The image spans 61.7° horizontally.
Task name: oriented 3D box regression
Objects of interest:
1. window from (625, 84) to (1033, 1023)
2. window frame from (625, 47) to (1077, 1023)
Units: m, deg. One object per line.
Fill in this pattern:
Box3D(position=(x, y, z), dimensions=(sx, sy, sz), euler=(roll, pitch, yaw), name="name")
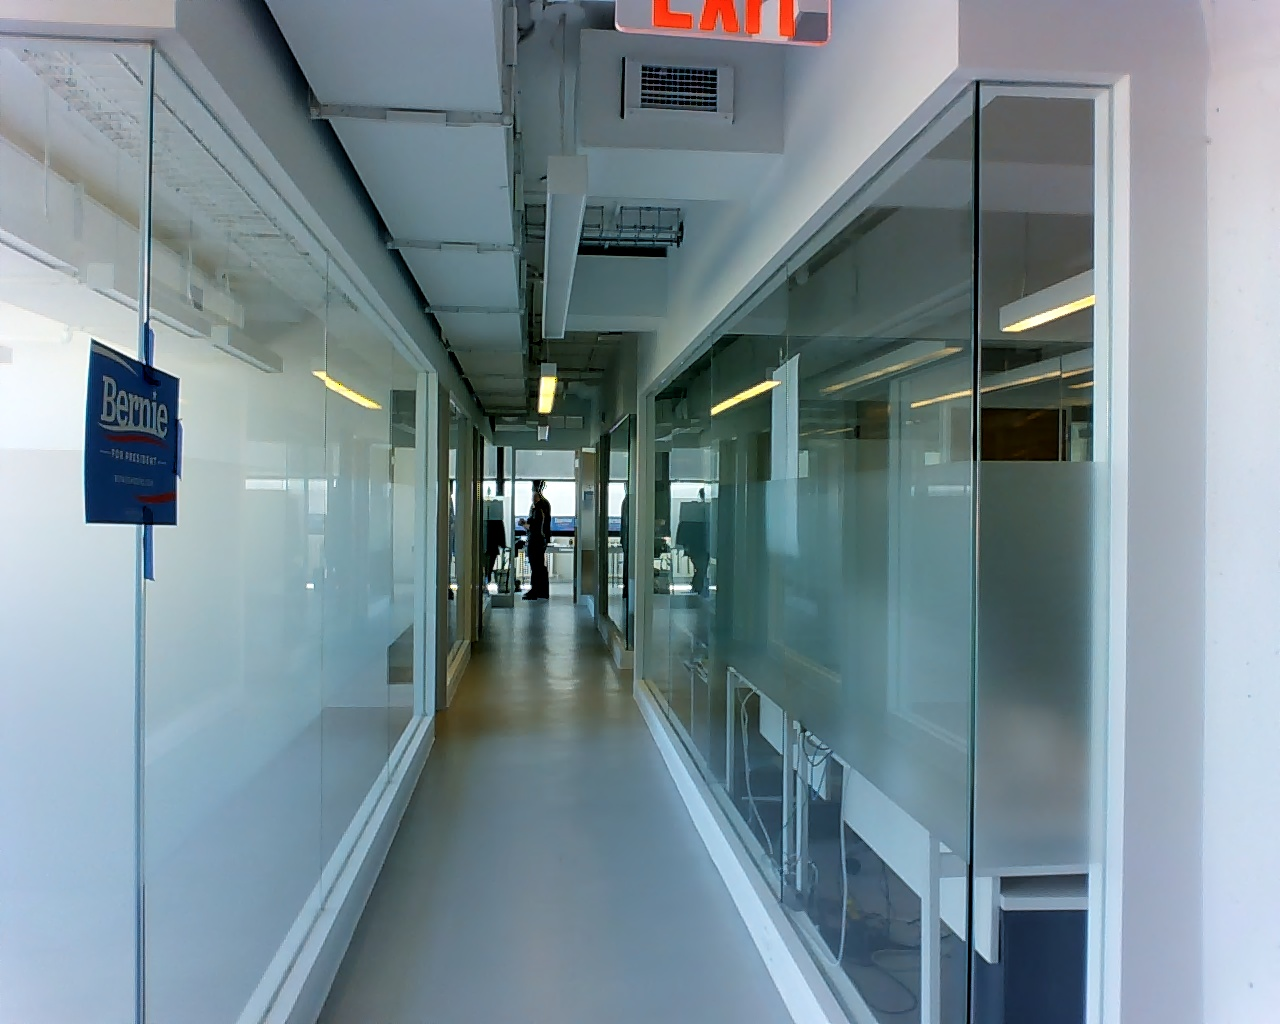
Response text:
Box3D(position=(0.310, 0.250, 5.010), dimensions=(0.150, 2.080, 6.080), euler=(1, 0, -6), name="window")
Box3D(position=(0.330, 0.320, 5.000), dimensions=(0.170, 2.271, 6.260), euler=(1, 0, -6), name="window frame")
